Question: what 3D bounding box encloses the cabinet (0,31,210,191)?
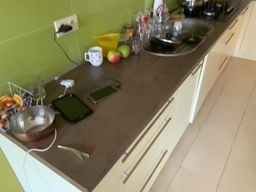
[{"bbox_3d":[-0.030,0.220,1.430,0.590,0.840,1.280,21,42,26],"label":"cabinet"}]
